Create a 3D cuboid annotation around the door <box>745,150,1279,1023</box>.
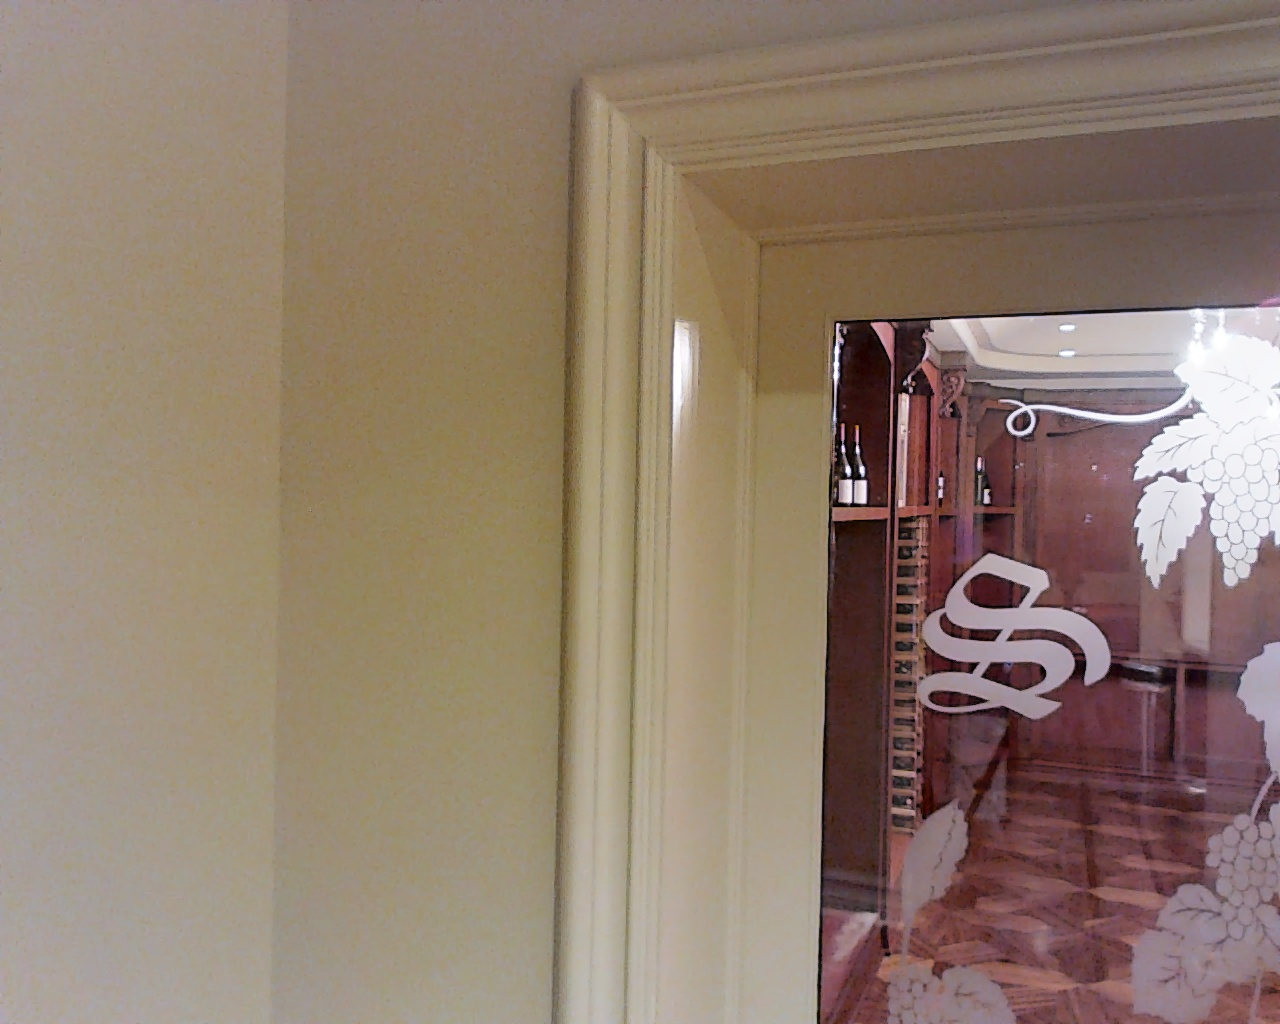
[{"bbox_3d":[0.580,0.630,1.370,0.880,2.101,0.140,1,0,22],"label":"door"}]
